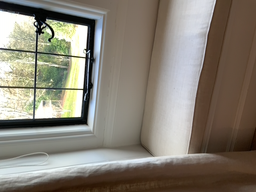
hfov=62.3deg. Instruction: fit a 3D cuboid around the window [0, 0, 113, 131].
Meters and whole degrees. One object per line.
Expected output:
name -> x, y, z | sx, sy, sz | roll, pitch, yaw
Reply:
window -> -0.580, -0.460, 0.920 | 0.090, 1.080, 1.270 | 27, 112, 58
